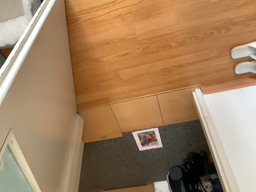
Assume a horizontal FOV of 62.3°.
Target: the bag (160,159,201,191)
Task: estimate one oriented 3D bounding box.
[{"bbox_3d":[0.530,0.910,2.070,0.300,0.400,0.350,-18,134,15],"label":"bag"}]
